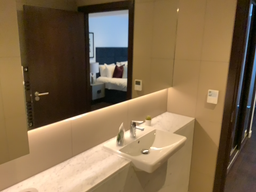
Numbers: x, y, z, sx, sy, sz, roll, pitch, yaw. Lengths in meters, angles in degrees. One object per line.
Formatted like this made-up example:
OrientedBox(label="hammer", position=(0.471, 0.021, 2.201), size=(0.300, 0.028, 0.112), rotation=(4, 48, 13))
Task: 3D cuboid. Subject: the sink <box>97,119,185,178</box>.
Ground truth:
OrientedBox(label="sink", position=(0.120, 0.380, 1.720), size=(0.470, 0.140, 0.570), rotation=(12, 17, 36))
